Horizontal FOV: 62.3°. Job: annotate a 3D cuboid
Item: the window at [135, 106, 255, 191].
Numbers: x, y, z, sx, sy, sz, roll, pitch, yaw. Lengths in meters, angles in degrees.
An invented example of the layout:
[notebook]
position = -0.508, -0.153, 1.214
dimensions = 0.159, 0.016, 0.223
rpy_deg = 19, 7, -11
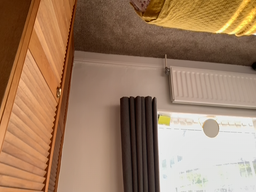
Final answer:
[window]
position = 0.880, 1.010, 1.950
dimensions = 1.590, 1.820, 0.160
rpy_deg = 5, 153, -10

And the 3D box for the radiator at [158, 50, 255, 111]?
[radiator]
position = 1.000, -0.160, 2.290
dimensions = 1.300, 0.580, 0.160
rpy_deg = 3, 153, -8
